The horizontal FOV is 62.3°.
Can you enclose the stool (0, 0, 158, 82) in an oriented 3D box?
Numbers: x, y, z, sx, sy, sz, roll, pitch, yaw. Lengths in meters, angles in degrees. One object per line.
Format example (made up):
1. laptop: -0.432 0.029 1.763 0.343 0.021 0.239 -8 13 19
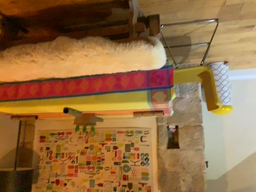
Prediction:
1. stool: -0.550 -0.470 1.800 1.560 0.550 0.360 -2 167 11
